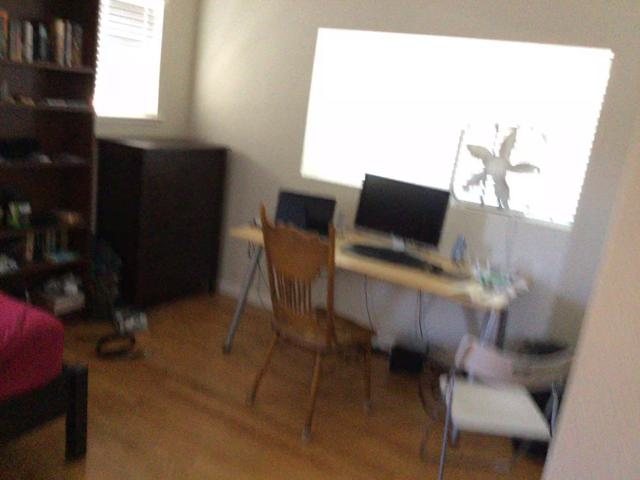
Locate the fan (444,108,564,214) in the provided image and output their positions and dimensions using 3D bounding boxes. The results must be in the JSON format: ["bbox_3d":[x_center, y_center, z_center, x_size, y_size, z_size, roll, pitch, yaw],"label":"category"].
[{"bbox_3d":[1.100,-0.480,3.480,0.560,0.540,0.250,13,11,28],"label":"fan"}]

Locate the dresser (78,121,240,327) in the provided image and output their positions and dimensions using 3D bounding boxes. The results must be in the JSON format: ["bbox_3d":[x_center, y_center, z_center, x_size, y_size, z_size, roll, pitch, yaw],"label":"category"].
[{"bbox_3d":[-1.110,-0.140,4.050,0.550,1.230,0.840,13,11,28],"label":"dresser"}]
